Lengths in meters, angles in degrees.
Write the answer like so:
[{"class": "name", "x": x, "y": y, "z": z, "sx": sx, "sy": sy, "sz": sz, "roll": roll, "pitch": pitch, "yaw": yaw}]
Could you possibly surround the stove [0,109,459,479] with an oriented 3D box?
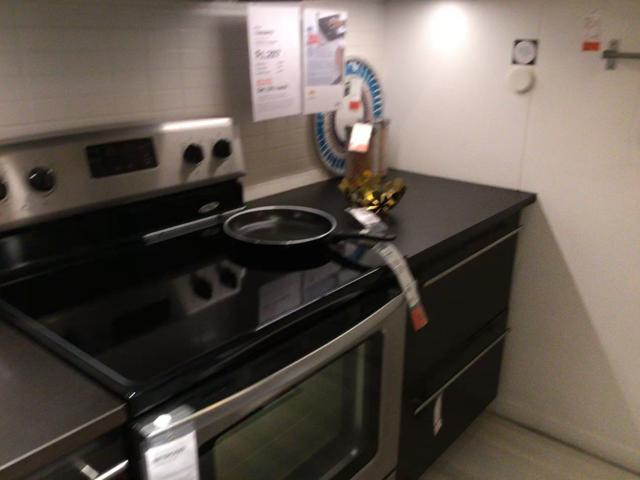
[{"class": "stove", "x": -0.220, "y": 0.350, "z": 1.390, "sx": 0.690, "sy": 1.200, "sz": 0.900, "roll": 13, "pitch": 23, "yaw": 39}]
